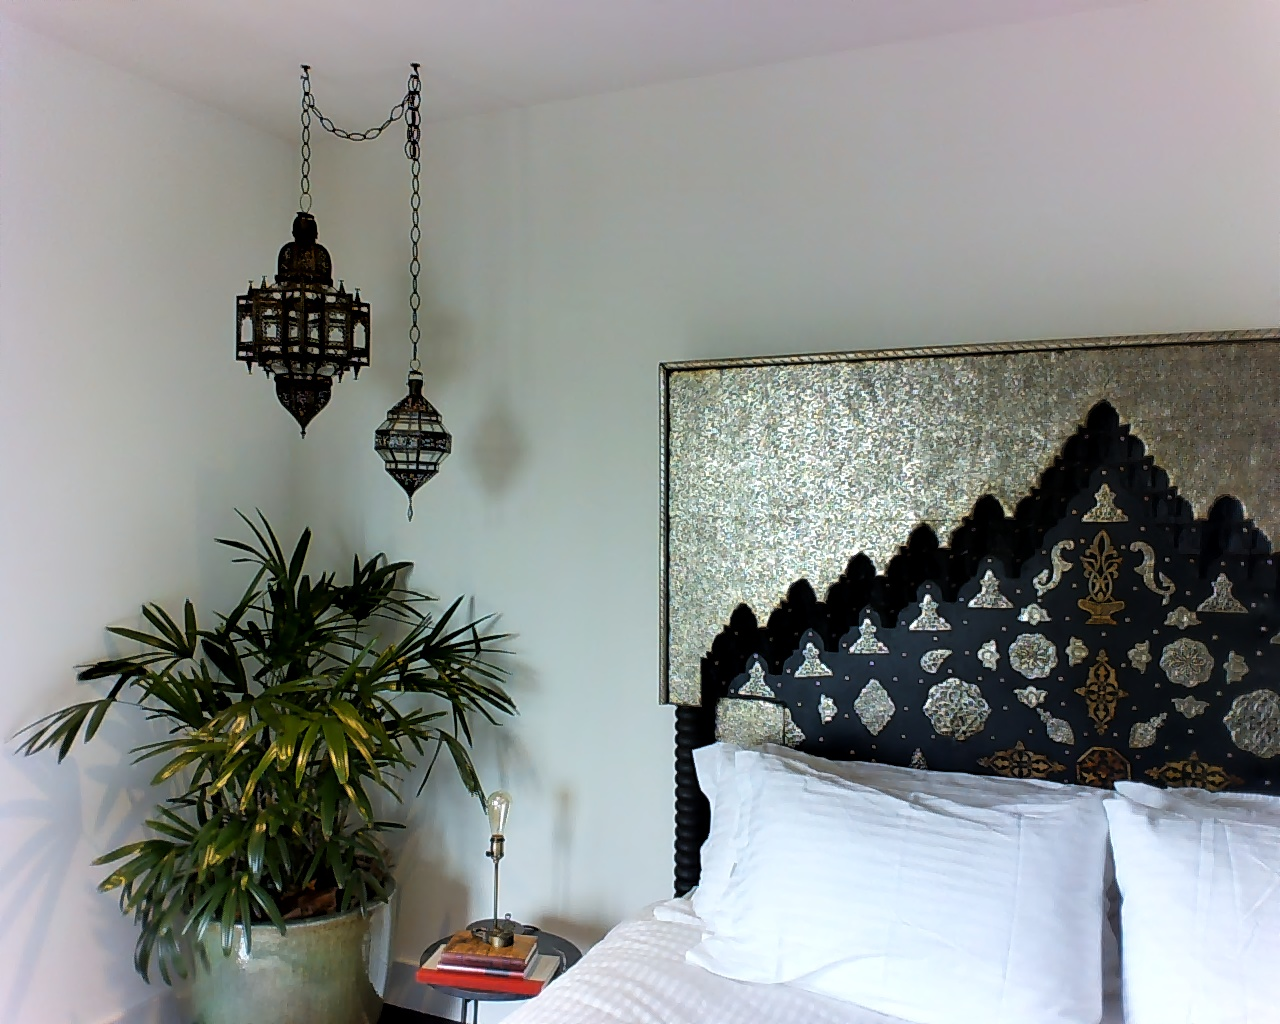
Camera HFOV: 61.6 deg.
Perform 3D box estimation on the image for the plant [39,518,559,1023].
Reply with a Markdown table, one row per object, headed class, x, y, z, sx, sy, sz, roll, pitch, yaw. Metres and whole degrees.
| class | x | y | z | sx | sy | sz | roll | pitch | yaw |
| --- | --- | --- | --- | --- | --- | --- | --- | --- | --- |
| plant | -0.860 | 0.750 | 2.870 | 0.960 | 1.460 | 0.910 | 0 | -1 | 25 |
